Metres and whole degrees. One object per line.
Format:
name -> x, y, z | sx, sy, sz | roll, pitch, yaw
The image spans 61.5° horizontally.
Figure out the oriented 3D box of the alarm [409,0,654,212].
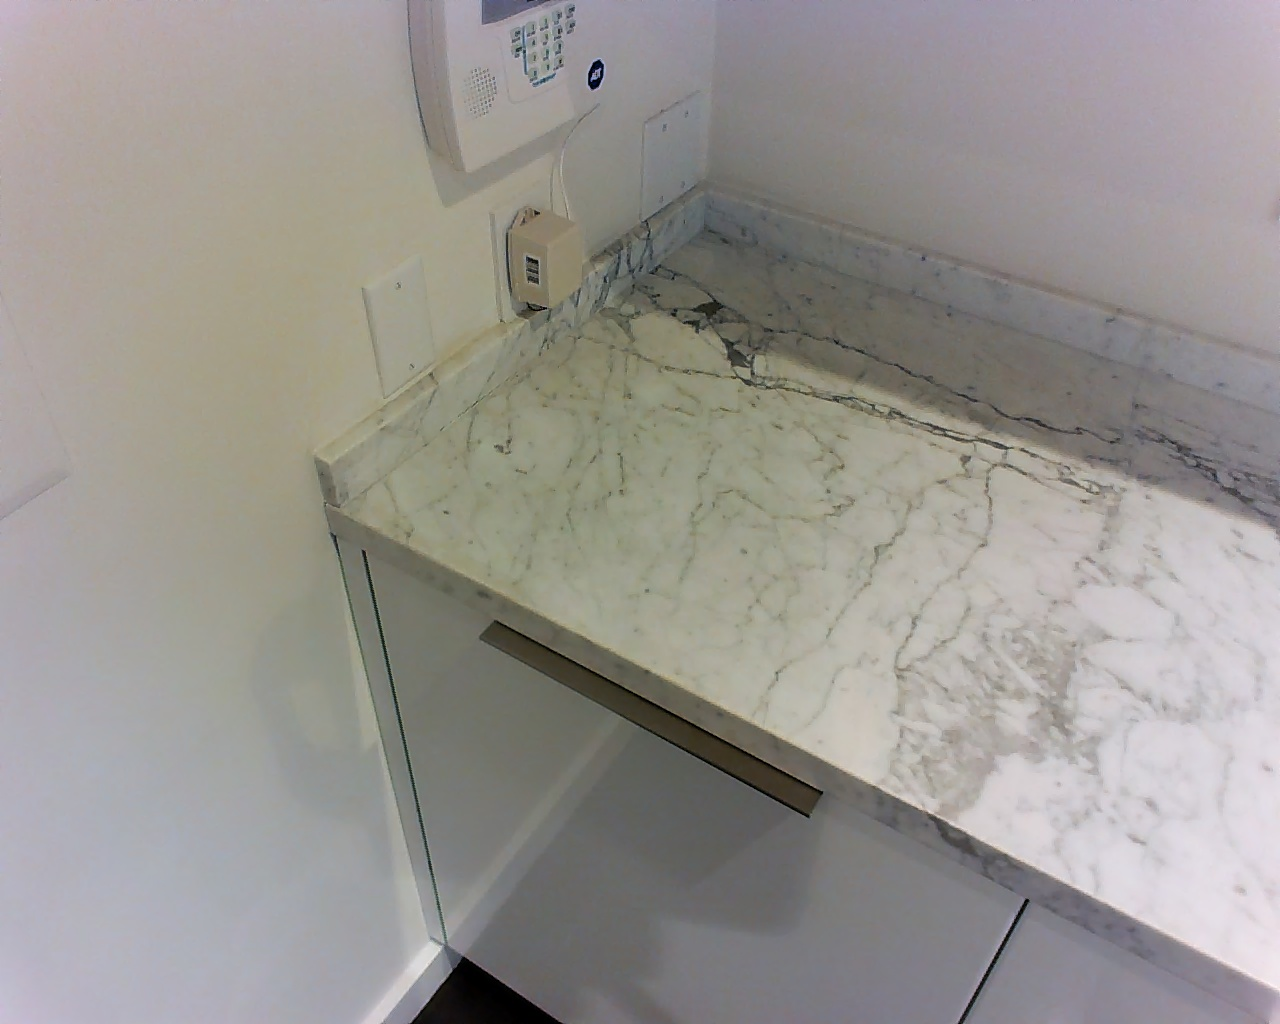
alarm -> -0.080, -0.400, 0.900 | 0.060, 0.200, 0.250 | 24, 47, 23
